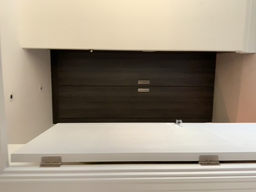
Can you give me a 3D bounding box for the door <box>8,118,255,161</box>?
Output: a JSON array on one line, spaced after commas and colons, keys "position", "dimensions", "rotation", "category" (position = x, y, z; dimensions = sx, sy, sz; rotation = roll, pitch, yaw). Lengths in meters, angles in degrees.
[{"position": [0.390, 0.270, 1.560], "dimensions": [0.870, 2.040, 0.030], "rotation": [-121, 31, -83], "category": "door"}]
